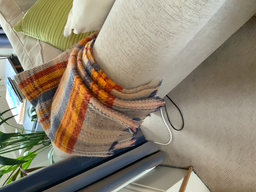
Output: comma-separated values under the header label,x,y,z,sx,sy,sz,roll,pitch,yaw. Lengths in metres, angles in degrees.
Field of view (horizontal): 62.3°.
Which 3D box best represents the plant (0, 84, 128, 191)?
label,x,y,z,sx,sy,sz,roll,pitch,yaw
plant,-0.740,0.320,1.360,0.440,1.480,0.430,48,130,28
